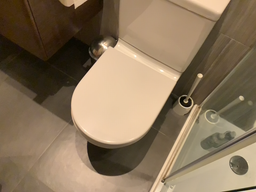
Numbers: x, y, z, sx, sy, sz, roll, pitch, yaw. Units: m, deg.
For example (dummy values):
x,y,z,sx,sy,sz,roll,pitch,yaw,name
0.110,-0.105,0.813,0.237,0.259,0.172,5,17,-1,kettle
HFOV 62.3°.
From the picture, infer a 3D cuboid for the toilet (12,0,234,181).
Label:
x,y,z,sx,sy,sz,roll,pitch,yaw,name
0.010,-0.060,0.990,0.410,0.780,0.650,31,63,10,toilet
